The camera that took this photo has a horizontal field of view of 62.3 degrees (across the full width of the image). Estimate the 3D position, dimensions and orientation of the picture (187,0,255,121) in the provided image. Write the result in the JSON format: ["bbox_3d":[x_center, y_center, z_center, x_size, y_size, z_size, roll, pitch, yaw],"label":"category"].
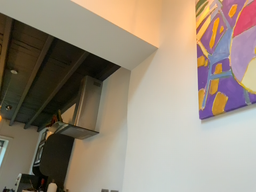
[{"bbox_3d":[0.520,-0.320,1.030,0.010,0.780,0.640,18,-27,-23],"label":"picture"}]
